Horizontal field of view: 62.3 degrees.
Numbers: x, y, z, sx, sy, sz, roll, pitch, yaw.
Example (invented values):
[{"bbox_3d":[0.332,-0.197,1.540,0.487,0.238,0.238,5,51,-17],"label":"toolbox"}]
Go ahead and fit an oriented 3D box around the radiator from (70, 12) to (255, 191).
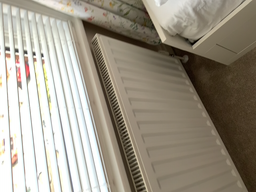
[{"bbox_3d":[0.280,0.190,0.970,0.150,0.820,1.190,-45,56,37],"label":"radiator"}]
